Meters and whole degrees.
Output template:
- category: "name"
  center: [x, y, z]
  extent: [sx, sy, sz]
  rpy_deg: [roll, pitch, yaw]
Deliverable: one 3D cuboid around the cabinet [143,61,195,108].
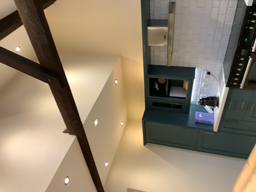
- category: "cabinet"
  center: [0.730, -0.200, 3.850]
  extent: [0.270, 0.840, 0.800]
  rpy_deg: [-69, -20, -44]
